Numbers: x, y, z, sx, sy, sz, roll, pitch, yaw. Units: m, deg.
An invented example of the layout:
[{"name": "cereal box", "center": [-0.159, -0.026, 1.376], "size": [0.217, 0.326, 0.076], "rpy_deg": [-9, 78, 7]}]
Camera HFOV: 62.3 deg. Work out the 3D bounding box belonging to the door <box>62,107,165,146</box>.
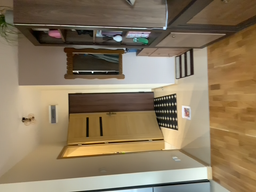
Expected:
[{"name": "door", "center": [-0.320, 0.640, 4.720], "size": [0.910, 2.120, 0.100], "rpy_deg": [-102, 15, -47]}]
